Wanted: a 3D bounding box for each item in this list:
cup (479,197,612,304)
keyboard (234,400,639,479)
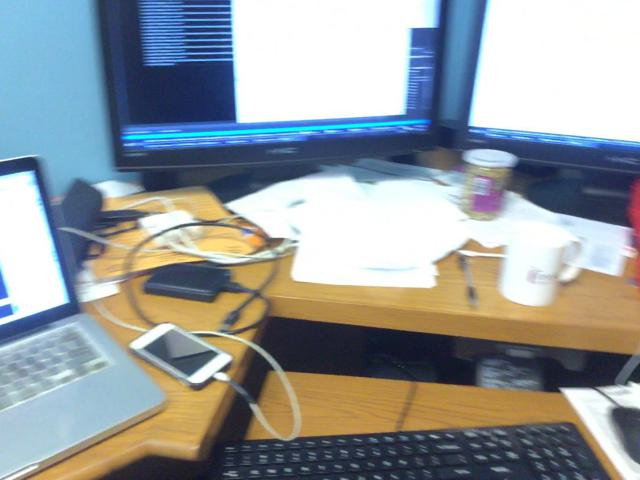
[{"bbox_3d":[0.330,0.010,0.850,0.160,0.090,0.100,-18,29,-32],"label":"cup"},{"bbox_3d":[0.130,0.260,0.670,0.450,0.040,0.140,-3,24,-2],"label":"keyboard"}]
